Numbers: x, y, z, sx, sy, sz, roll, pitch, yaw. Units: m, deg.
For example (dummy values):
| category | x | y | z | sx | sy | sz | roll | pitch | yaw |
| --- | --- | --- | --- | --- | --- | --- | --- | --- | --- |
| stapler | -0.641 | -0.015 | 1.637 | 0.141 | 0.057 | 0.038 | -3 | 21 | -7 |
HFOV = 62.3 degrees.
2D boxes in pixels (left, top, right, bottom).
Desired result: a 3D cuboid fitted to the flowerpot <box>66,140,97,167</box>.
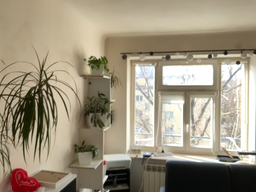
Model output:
| category | x | y | z | sx | sy | sz | roll | pitch | yaw |
| --- | --- | --- | --- | --- | --- | --- | --- | --- | --- |
| flowerpot | -0.510 | 0.630 | 2.360 | 0.250 | 0.210 | 0.240 | 1 | 1 | 18 |

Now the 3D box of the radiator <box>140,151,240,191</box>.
| category | x | y | z | sx | sy | sz | roll | pitch | yaw |
| --- | --- | --- | --- | --- | --- | --- | --- | --- | --- |
| radiator | 0.890 | 1.260 | 3.200 | 1.390 | 0.700 | 0.220 | 1 | 1 | 12 |

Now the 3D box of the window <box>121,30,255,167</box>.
| category | x | y | z | sx | sy | sz | roll | pitch | yaw |
| --- | --- | --- | --- | --- | --- | --- | --- | --- | --- |
| window | 0.950 | 0.020 | 3.490 | 2.130 | 2.030 | 0.200 | 1 | 1 | 14 |

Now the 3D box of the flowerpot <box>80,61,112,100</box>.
| category | x | y | z | sx | sy | sz | roll | pitch | yaw |
| --- | --- | --- | --- | --- | --- | --- | --- | --- | --- |
| flowerpot | -0.420 | -0.200 | 2.850 | 0.320 | 0.490 | 0.300 | 1 | 1 | 15 |
